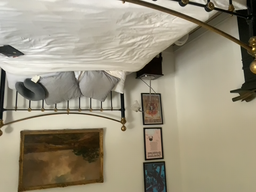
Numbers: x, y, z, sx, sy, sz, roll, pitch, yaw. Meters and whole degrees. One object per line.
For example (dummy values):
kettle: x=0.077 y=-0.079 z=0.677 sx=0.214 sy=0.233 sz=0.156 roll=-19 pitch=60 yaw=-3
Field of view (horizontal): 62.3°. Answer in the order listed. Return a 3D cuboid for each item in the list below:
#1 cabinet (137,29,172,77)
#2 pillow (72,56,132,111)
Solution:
cabinet: x=0.370 y=-0.610 z=3.090 sx=0.330 sy=0.370 sz=0.570 roll=157 pitch=113 yaw=-68
pillow: x=-0.320 y=-0.170 z=2.630 sx=0.530 sy=0.450 sz=0.230 roll=46 pitch=136 yaw=10
